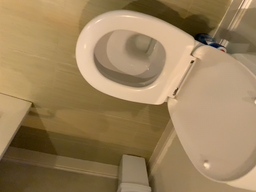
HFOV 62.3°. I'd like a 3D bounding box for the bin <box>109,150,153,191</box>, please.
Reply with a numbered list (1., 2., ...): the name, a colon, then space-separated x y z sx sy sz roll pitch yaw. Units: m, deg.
1. bin: 0.010 0.620 1.550 0.250 0.350 0.200 14 122 -11
